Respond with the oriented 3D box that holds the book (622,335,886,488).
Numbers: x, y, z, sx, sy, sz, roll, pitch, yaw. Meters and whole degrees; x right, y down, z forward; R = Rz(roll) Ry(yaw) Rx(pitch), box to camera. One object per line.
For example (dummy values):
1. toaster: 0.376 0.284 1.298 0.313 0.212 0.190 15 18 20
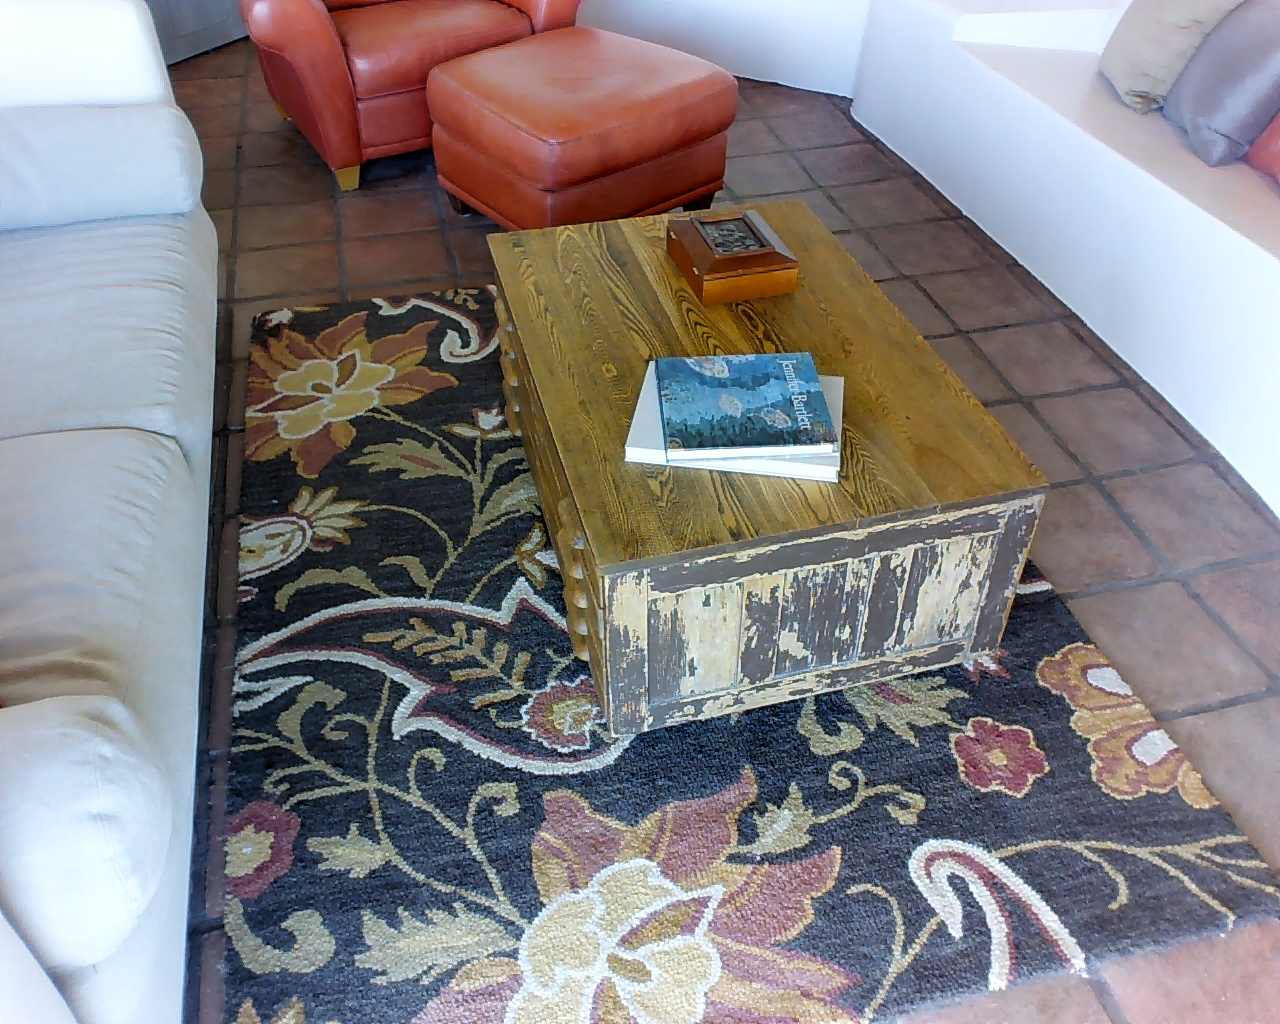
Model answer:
1. book: 0.170 -0.170 1.730 0.390 0.060 0.340 0 40 0
